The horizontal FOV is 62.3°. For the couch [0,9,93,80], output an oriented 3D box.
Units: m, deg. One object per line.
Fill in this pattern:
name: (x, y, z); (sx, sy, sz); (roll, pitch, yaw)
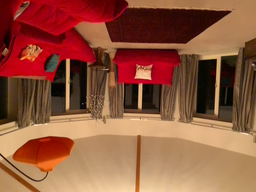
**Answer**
couch: (-1.400, -0.740, 3.770); (1.150, 0.850, 2.060); (1, -177, 1)

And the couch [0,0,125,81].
couch: (-0.790, -0.580, 1.640); (1.050, 0.880, 1.120); (4, -176, 39)

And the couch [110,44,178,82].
couch: (0.400, -0.810, 5.490); (1.550, 0.870, 1.060); (2, -177, 4)
